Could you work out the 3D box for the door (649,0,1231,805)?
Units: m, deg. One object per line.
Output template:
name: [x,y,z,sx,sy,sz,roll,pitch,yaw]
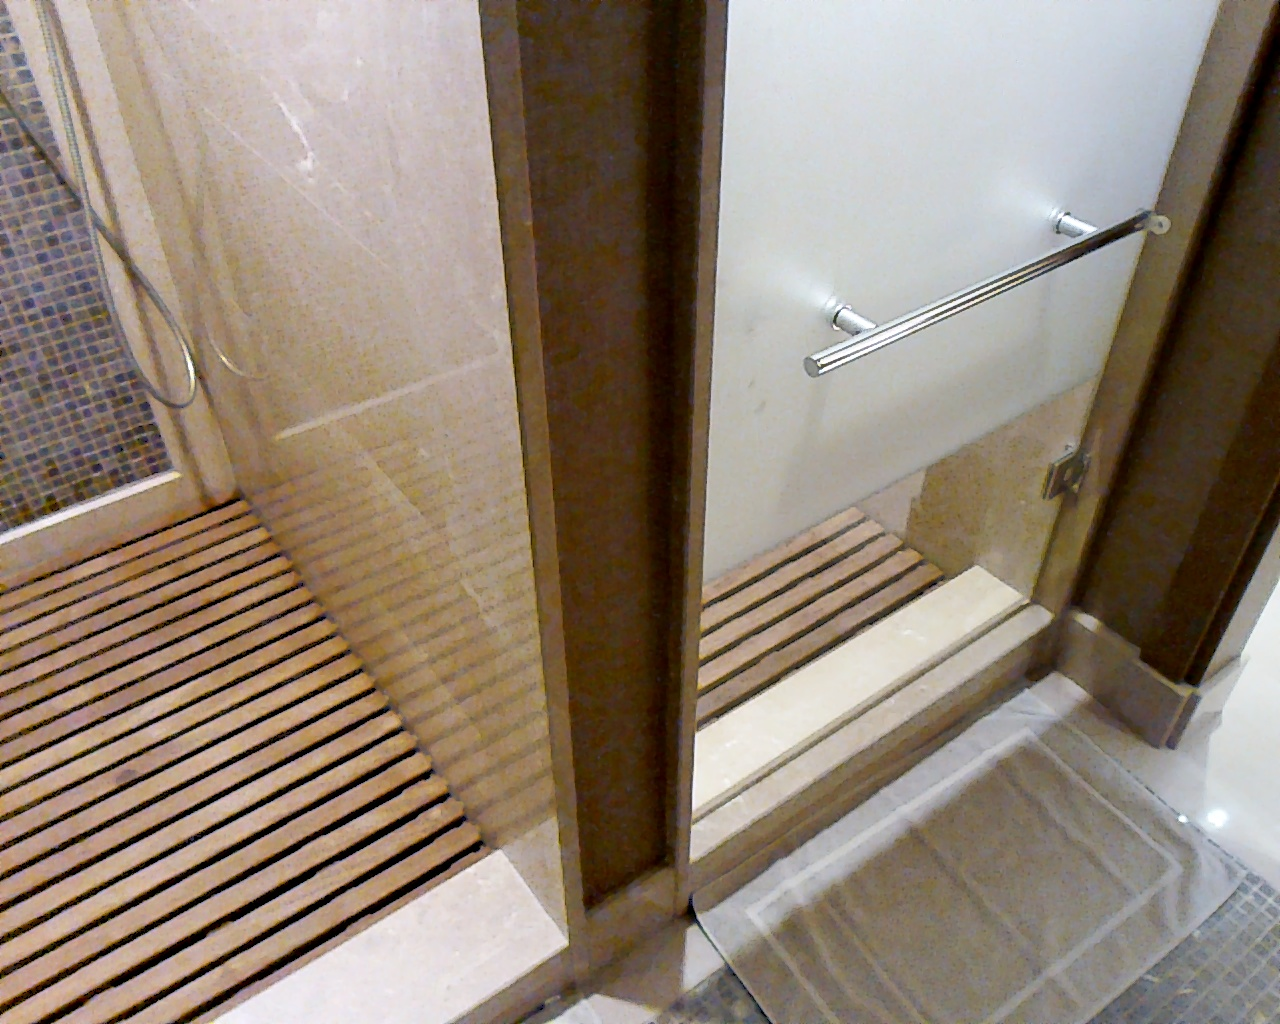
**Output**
door: [0.380,-0.450,1.220,0.870,1.900,0.050,-26,47,-26]
